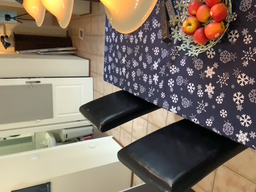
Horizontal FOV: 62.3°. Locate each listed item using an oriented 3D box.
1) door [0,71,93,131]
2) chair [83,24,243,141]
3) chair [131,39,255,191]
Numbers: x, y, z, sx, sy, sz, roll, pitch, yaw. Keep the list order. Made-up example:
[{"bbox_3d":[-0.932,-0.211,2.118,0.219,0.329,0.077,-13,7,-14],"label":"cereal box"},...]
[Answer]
[{"bbox_3d":[-1.610,0.050,3.690,0.170,2.030,0.950,23,113,55],"label":"door"},{"bbox_3d":[0.270,-0.140,1.630,0.430,1.090,0.640,36,124,51],"label":"chair"},{"bbox_3d":[0.590,0.070,1.150,0.430,1.070,0.630,16,107,57],"label":"chair"}]
